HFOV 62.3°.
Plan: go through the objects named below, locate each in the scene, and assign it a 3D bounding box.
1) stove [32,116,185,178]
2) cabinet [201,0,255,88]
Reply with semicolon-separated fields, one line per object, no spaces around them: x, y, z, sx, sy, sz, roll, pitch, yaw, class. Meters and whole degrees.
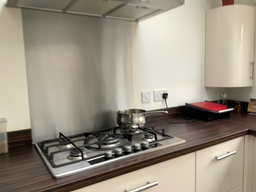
-0.130;0.240;1.250;0.730;0.050;0.550;-6;8;-32;stove
0.930;-0.460;2.000;0.310;0.740;0.320;-6;8;-32;cabinet
